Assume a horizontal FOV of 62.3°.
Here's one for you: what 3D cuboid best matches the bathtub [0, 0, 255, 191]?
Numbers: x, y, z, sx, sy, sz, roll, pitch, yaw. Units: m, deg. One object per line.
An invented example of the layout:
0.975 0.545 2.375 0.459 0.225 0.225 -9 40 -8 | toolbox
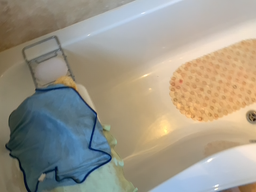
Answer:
0.360 0.040 0.970 1.620 0.580 0.890 -24 75 -7 | bathtub
